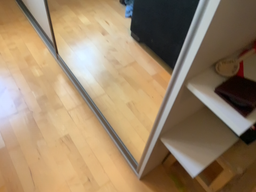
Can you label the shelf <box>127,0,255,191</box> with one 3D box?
[{"bbox_3d":[0.490,-0.360,0.360,0.690,2.430,0.330,-26,60,-24],"label":"shelf"}]
